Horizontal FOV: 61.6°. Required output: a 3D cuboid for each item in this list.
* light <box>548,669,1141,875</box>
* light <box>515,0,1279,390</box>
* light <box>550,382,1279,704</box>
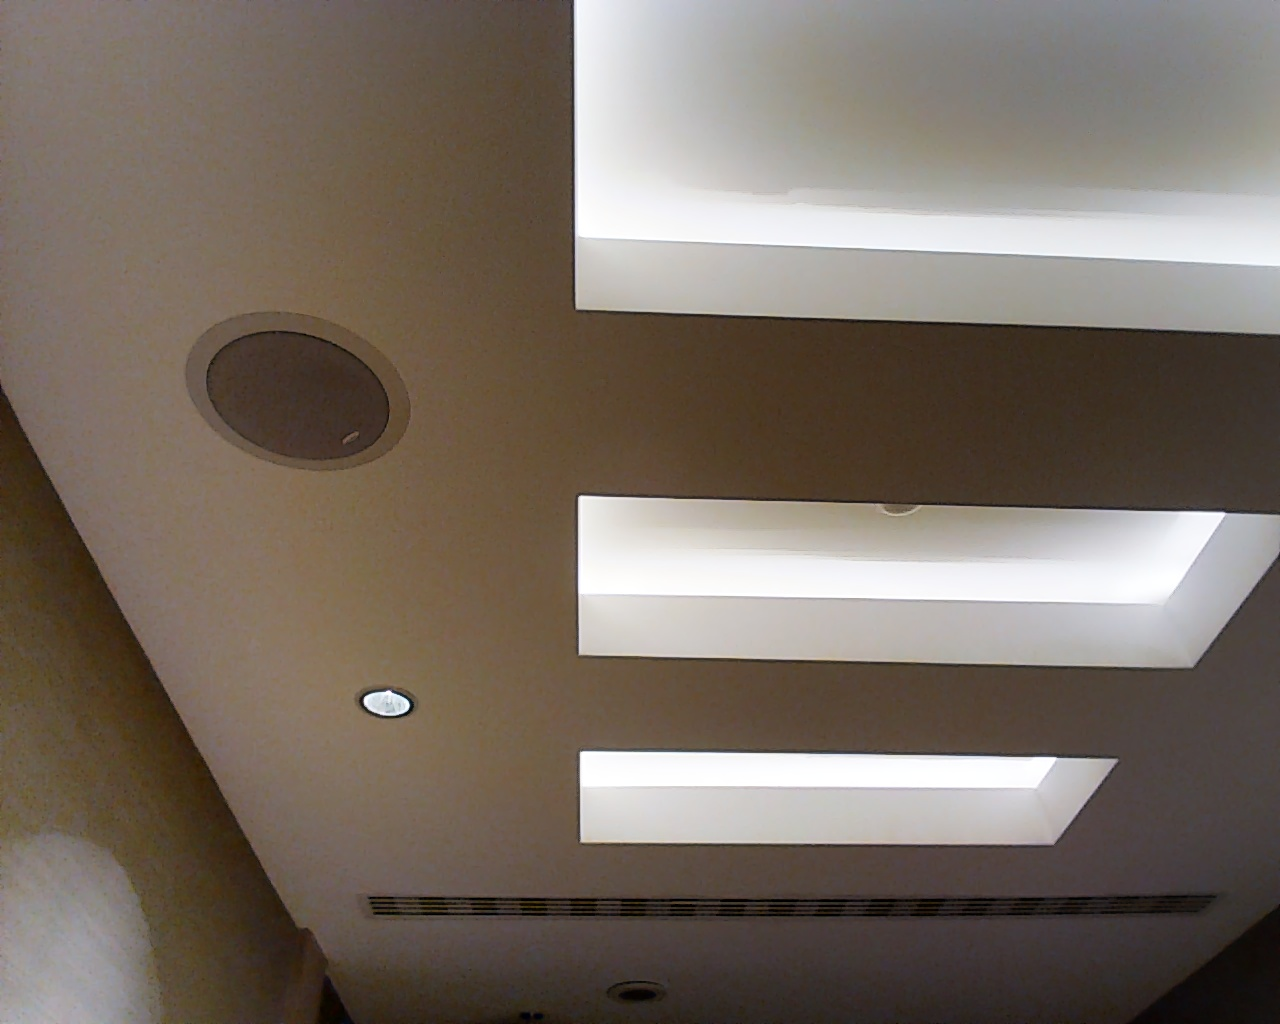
[{"bbox_3d":[0.370,0.550,2.220,1.099,0.210,0.470,1,-41,-2],"label":"light"},{"bbox_3d":[0.430,-0.400,1.120,1.089,0.210,0.520,1,-41,-3],"label":"light"},{"bbox_3d":[0.410,0.070,1.670,1.079,0.200,0.510,1,-41,-2],"label":"light"}]
